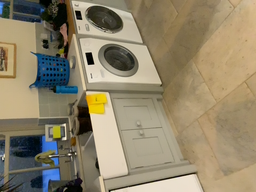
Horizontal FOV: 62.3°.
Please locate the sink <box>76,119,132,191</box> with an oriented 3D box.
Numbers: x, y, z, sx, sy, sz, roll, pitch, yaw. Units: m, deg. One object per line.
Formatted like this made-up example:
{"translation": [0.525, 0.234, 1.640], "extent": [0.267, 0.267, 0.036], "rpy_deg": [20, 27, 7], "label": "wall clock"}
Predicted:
{"translation": [-0.250, 0.560, 1.890], "extent": [0.610, 0.240, 0.450], "rpy_deg": [-57, 42, 46], "label": "sink"}
